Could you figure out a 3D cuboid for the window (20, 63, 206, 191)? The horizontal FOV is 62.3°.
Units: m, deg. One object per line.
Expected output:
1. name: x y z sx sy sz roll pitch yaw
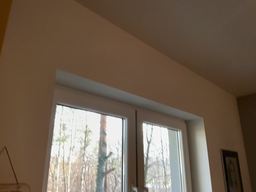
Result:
1. window: 0.090 0.640 1.400 0.270 1.230 1.480 -15 -24 38
